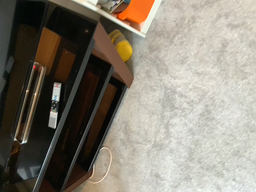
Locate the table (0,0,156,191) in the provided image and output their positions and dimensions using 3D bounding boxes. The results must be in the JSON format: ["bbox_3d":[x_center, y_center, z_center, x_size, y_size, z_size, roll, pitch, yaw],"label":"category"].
[{"bbox_3d":[-0.410,0.120,1.410,0.570,0.450,1.210,33,105,30],"label":"table"}]
